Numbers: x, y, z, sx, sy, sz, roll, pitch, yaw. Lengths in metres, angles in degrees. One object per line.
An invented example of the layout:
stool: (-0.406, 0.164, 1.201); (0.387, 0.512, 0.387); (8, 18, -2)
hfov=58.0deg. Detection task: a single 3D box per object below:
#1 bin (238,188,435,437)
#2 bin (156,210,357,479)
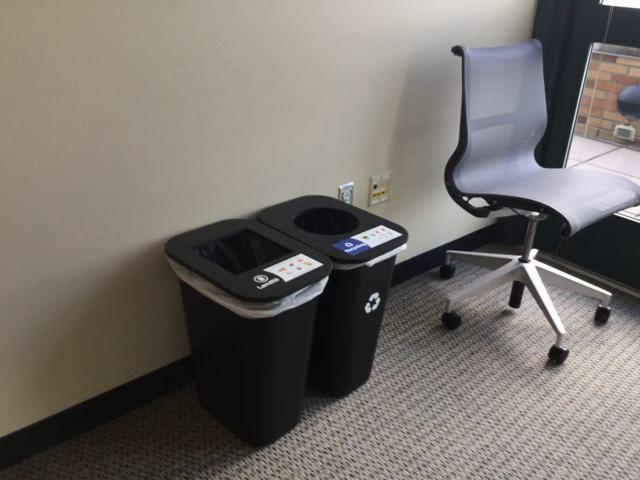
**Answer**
bin: (0.040, 0.190, 1.750); (0.380, 0.530, 0.410); (-20, 32, -36)
bin: (-0.170, 0.260, 1.570); (0.330, 0.520, 0.410); (-20, 32, -36)
